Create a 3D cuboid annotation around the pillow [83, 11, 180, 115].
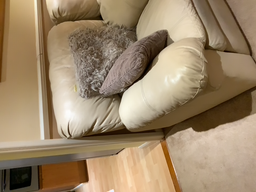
[{"bbox_3d":[0.000,-0.160,1.260,0.510,0.330,0.200,-47,16,45],"label":"pillow"}]
